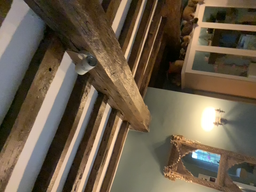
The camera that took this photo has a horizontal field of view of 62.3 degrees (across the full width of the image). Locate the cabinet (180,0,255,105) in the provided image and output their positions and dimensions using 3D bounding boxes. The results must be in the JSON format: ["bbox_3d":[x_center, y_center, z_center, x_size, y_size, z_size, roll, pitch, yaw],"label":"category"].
[{"bbox_3d":[2.380,-0.930,4.330,0.840,2.230,1.920,62,-138,-62],"label":"cabinet"}]
